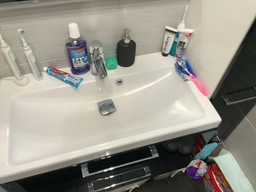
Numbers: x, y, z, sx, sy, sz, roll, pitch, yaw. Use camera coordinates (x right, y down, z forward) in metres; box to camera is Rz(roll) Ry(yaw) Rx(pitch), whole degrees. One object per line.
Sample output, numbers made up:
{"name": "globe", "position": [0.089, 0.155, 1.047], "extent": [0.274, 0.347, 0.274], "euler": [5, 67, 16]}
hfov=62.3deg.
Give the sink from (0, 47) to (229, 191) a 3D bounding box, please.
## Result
{"name": "sink", "position": [-0.080, 0.040, 0.860], "extent": [0.810, 0.120, 0.420], "euler": [-12, 53, -13]}
